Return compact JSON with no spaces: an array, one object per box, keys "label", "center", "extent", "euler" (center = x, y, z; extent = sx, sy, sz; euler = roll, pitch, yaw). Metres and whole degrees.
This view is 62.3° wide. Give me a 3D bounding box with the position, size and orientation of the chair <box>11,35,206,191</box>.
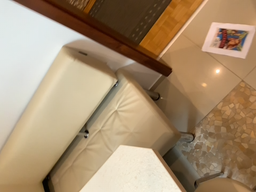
[{"label":"chair","center":[-0.090,0.180,1.290],"extent":[0.580,0.860,0.580],"euler":[-51,53,19]}]
